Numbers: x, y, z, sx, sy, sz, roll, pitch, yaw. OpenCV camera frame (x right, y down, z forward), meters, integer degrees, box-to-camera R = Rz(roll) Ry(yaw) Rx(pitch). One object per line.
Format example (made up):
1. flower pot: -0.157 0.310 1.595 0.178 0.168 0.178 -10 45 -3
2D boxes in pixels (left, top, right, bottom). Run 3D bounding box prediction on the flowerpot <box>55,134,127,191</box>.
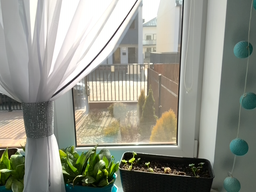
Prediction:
1. flowerpot: -0.150 0.320 0.940 0.270 0.210 0.230 -1 13 -6
